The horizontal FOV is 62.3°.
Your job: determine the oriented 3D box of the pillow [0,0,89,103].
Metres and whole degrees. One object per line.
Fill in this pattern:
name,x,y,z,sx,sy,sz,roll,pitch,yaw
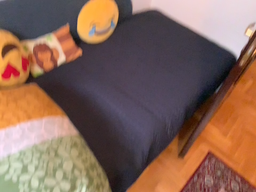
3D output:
pillow,-0.510,-0.280,1.170,0.220,0.350,0.570,37,51,21

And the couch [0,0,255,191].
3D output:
couch,-0.130,-0.010,1.280,1.030,0.870,2.110,37,51,21
